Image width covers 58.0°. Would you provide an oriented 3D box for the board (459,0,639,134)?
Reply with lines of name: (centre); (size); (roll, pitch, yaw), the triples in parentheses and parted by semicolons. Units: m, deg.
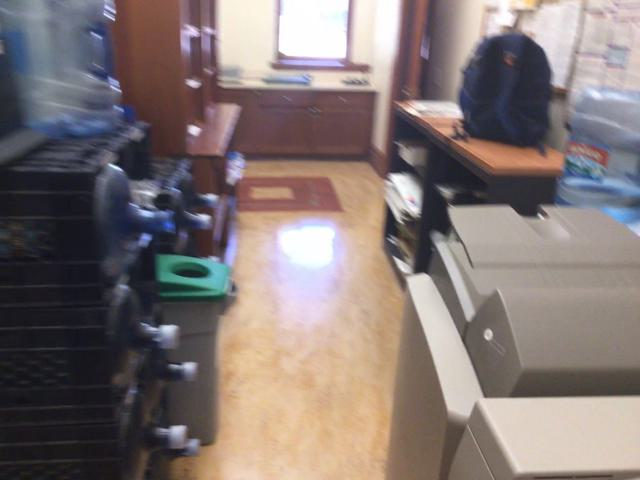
board: (0.950, -1.050, 2.330); (0.150, 0.900, 1.720); (-2, 22, -5)
